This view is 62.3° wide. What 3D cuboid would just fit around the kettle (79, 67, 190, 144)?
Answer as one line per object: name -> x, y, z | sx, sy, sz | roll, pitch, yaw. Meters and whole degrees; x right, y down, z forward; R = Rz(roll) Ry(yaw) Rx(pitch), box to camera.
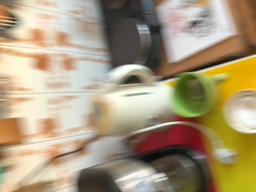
kettle -> 0.010, 0.040, 0.710 | 0.270, 0.220, 0.180 | -21, 77, 47
